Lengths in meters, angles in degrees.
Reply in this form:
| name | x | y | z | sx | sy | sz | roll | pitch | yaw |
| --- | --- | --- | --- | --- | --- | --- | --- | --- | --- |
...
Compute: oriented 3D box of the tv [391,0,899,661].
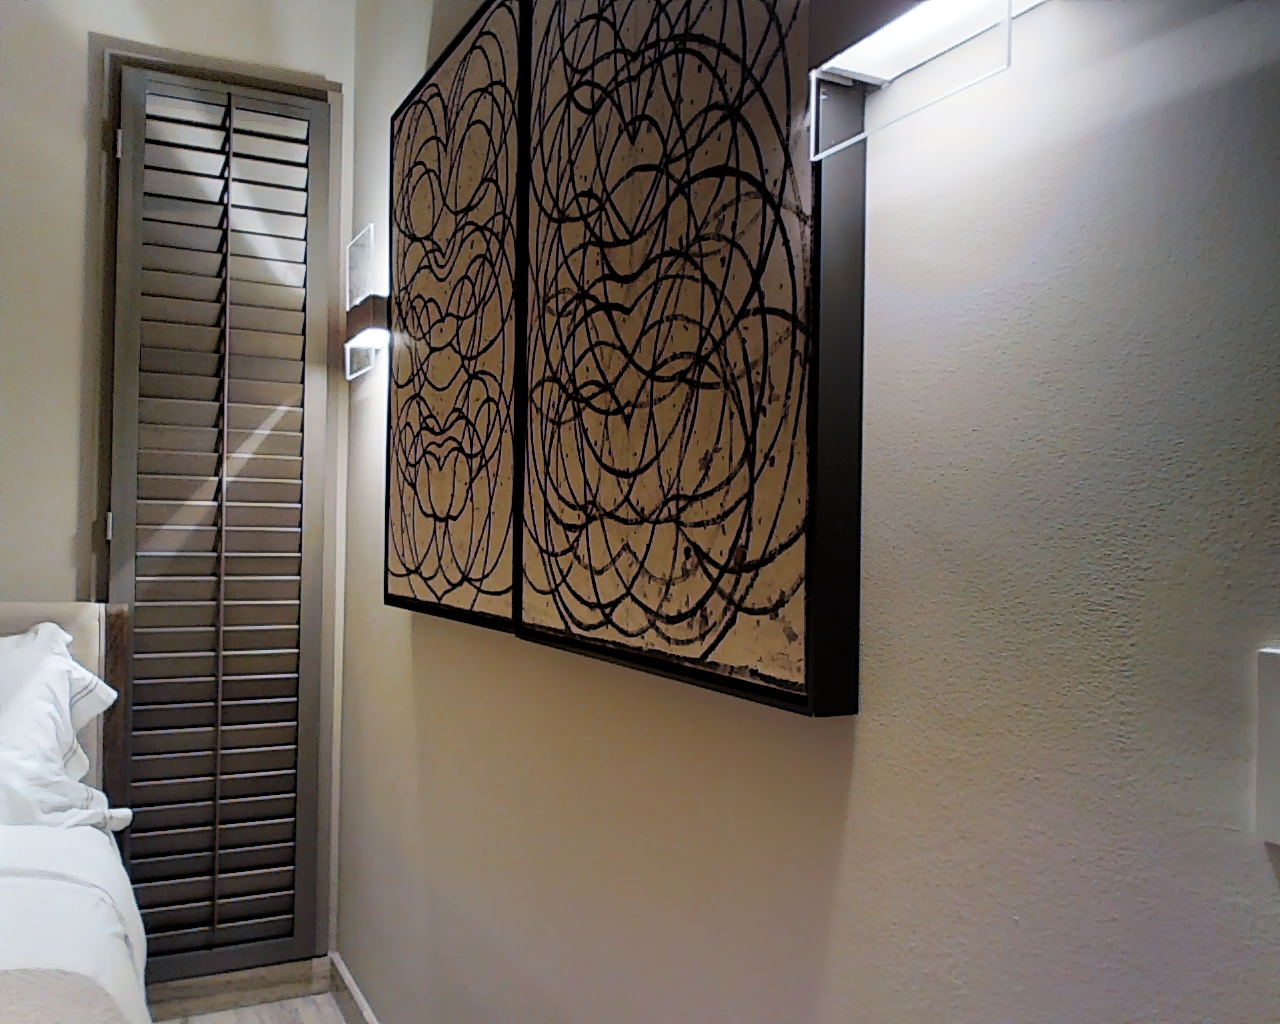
| name | x | y | z | sx | sy | sz | roll | pitch | yaw |
| --- | --- | --- | --- | --- | --- | --- | --- | --- | --- |
| tv | -0.150 | -0.390 | 1.730 | 0.100 | 1.050 | 1.590 | 1 | 0 | -26 |
